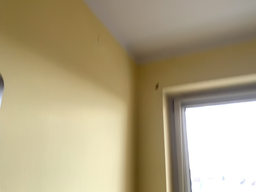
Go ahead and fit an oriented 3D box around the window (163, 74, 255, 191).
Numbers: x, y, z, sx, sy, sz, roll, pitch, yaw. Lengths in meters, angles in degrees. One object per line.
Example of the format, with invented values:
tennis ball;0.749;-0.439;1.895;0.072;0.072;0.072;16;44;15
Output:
window;0.820;0.600;1.310;1.130;1.530;0.150;-8;-22;24
